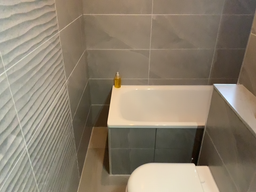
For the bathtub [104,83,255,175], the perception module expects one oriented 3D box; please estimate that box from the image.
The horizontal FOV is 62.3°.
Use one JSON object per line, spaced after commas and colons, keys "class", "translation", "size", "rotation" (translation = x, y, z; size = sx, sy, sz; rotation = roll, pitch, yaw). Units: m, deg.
{"class": "bathtub", "translation": [0.660, 0.270, 1.960], "size": [1.670, 0.540, 0.670], "rotation": [0, 28, -1]}
